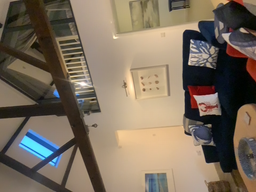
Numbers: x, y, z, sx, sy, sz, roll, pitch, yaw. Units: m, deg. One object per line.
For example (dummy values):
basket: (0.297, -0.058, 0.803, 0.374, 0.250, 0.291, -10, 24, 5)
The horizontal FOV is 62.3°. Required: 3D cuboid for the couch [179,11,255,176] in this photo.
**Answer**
couch: (1.330, 0.050, 3.220, 1.060, 0.920, 2.210, -86, -11, -56)
